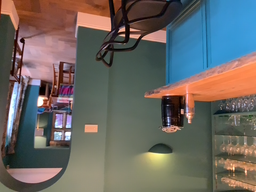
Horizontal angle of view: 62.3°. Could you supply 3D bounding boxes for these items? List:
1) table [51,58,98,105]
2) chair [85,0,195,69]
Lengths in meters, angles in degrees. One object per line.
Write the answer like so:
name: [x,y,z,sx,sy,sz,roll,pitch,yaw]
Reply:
table: [-1.380,-0.260,5.340,0.950,0.800,1.690,4,172,-18]
chair: [0.050,-0.710,1.430,0.570,0.890,0.500,4,172,-17]
